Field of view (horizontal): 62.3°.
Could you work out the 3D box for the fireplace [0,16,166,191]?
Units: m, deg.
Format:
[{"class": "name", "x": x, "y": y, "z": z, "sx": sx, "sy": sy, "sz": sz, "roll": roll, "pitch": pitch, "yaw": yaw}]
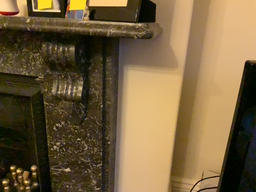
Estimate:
[{"class": "fireplace", "x": -0.840, "y": 0.250, "z": 1.110, "sx": 1.860, "sy": 1.280, "sz": 0.650, "roll": 8, "pitch": 20, "yaw": 13}]
